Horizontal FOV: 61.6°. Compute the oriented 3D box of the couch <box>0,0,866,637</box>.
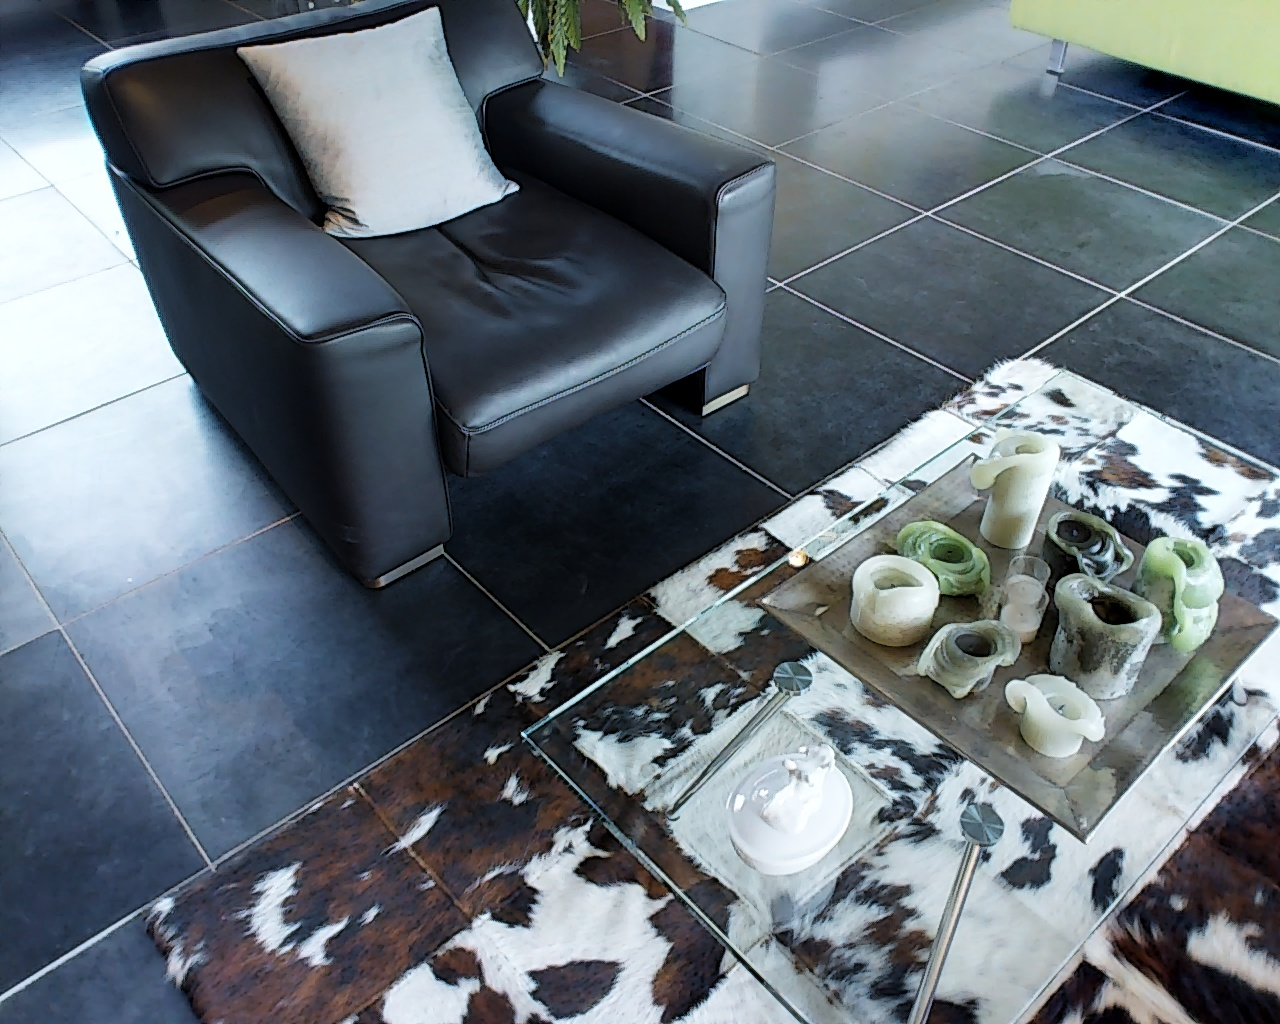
[{"bbox_3d":[-0.400,-0.590,2.180,1.080,0.740,1.170,-30,50,-30],"label":"couch"}]

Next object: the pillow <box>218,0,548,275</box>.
[{"bbox_3d":[-0.500,-0.780,2.140,0.460,0.450,0.180,-30,10,-30],"label":"pillow"}]

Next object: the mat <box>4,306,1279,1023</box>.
[{"bbox_3d":[0.490,0.380,1.620,2.300,0.050,1.440,-30,50,-30],"label":"mat"}]
